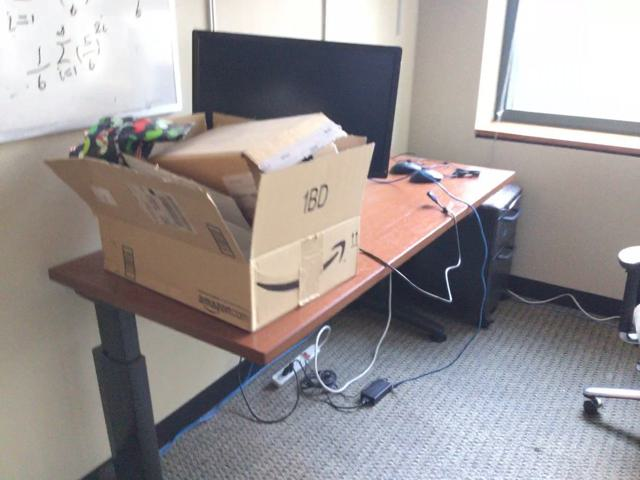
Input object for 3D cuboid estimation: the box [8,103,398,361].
[{"bbox_3d":[-0.250,-0.080,1.330,0.680,0.390,0.500,7,20,34],"label":"box"}]
